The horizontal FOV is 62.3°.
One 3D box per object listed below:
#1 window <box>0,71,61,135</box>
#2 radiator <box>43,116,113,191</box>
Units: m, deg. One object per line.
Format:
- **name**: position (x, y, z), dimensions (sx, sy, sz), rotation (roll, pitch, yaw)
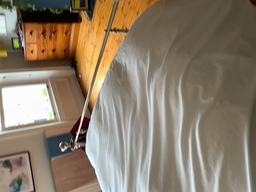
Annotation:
- **window**: position (-2.300, 0.120, 3.750), dimensions (1.140, 1.920, 0.270), rotation (63, 146, 31)
- **radiator**: position (-0.840, 0.920, 3.410), dimensions (1.190, 0.780, 0.240), rotation (61, 144, 34)
